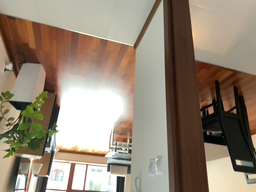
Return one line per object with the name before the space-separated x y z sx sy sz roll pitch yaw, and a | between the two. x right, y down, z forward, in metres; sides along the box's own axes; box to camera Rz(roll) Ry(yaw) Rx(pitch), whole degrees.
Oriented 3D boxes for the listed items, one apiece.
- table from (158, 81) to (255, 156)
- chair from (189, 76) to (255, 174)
table | 1.050 0.370 2.970 0.990 0.690 0.790 11 153 -16
chair | 1.090 0.360 2.560 0.350 1.040 0.500 15 151 -23
